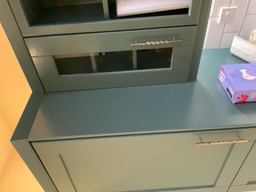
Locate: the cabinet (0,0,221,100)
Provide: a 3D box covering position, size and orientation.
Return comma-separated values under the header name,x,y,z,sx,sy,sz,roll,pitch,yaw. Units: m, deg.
name,x,y,z,sx,sy,sz,roll,pitch,yaw
cabinet,-0.090,-0.440,0.890,0.340,0.840,0.850,-95,1,-47
